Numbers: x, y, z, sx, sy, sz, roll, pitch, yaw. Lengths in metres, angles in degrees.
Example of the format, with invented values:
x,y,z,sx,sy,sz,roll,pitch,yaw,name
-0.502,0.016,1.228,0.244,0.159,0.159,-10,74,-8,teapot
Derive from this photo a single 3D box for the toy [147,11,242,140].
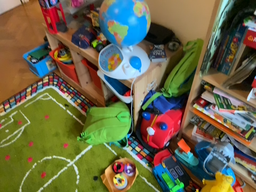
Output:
x,y,z,sx,sy,sz,roll,pitch,yaw,name
0.380,-0.110,1.340,0.240,0.630,0.480,34,57,27,toy
